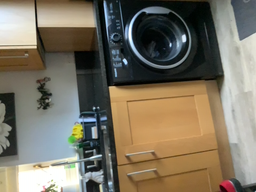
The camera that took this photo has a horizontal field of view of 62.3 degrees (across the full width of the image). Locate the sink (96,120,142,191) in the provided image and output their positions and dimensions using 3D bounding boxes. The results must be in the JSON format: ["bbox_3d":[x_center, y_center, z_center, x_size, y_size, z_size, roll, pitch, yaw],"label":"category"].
[{"bbox_3d":[-0.090,0.420,1.570,0.410,0.210,0.430,146,118,-72],"label":"sink"}]
